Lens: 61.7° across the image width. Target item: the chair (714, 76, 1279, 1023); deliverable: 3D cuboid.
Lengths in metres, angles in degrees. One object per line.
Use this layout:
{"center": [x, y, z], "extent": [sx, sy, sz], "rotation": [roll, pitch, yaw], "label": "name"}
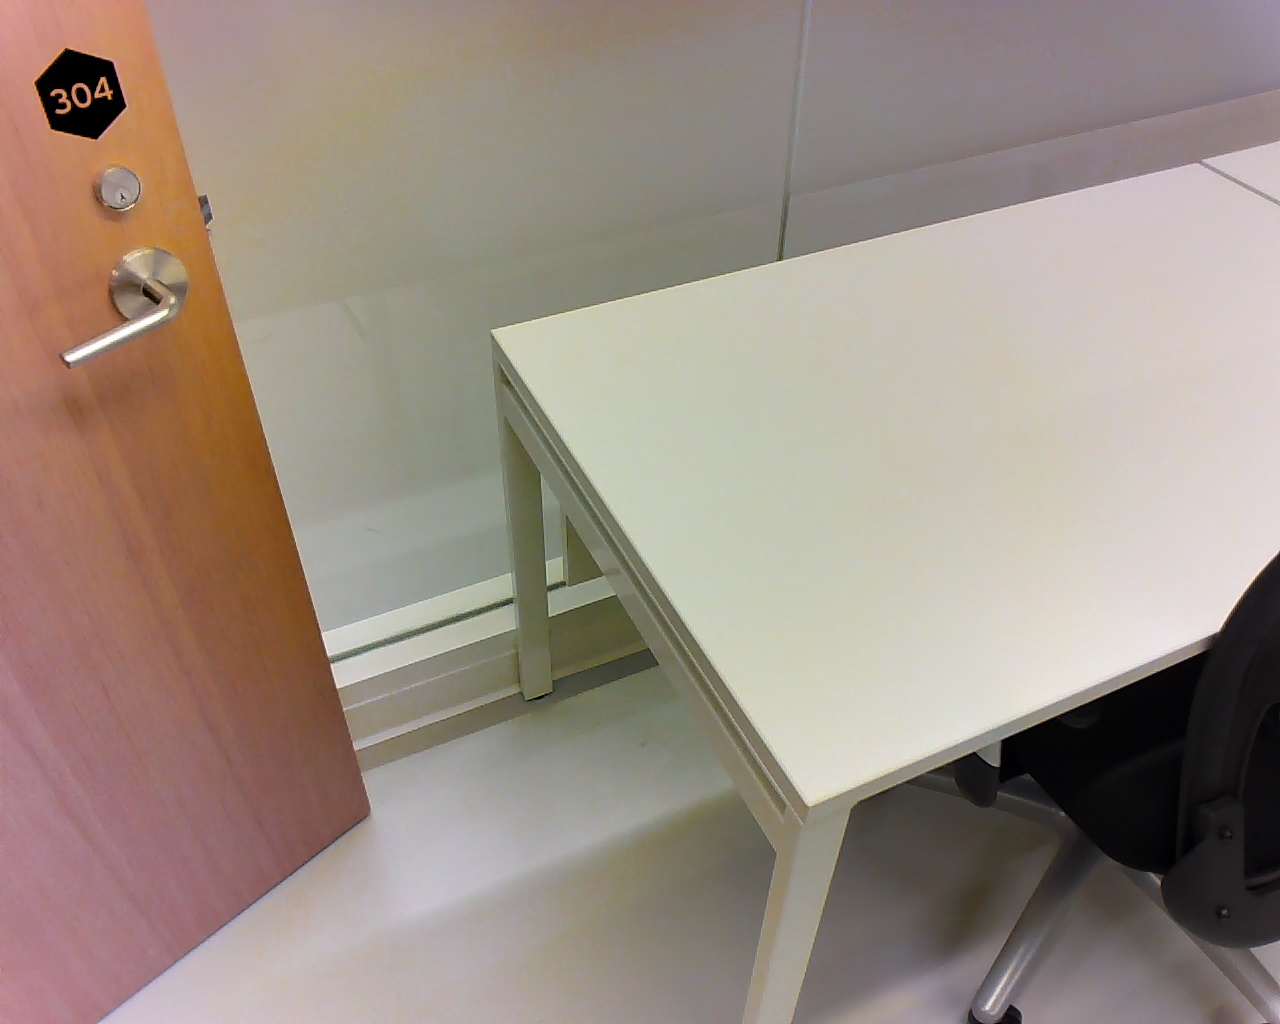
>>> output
{"center": [0.660, 0.150, 1.280], "extent": [0.680, 0.740, 1.030], "rotation": [-18, -23, -19], "label": "chair"}
